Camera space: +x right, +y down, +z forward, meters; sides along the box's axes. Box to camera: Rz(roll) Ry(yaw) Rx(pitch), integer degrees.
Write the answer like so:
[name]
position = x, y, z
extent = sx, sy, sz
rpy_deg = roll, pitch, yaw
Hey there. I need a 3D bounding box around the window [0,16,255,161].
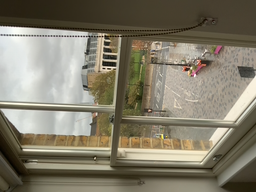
[window]
position = -0.030, 0.100, 1.140
extent = 1.030, 1.350, 0.050
rpy_deg = 99, 172, -49
